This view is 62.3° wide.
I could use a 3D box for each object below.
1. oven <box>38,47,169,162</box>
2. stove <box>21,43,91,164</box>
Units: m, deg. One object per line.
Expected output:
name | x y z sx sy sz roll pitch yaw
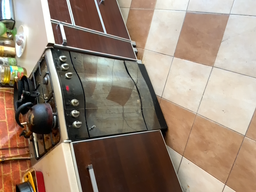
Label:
oven | -0.220 0.090 1.730 0.630 0.720 0.600 -36 64 41
stove | -0.530 0.080 1.440 0.600 0.150 0.600 -36 64 41
